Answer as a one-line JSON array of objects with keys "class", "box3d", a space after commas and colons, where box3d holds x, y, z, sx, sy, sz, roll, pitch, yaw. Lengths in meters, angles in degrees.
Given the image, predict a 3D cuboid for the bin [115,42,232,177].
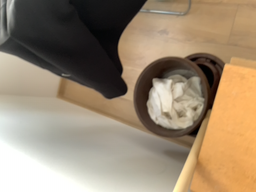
[{"class": "bin", "box3d": [0.250, 0.050, 1.050, 0.320, 0.440, 0.460, 22, 98, 29]}]
